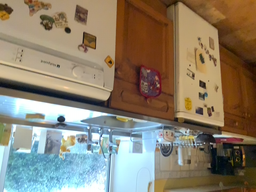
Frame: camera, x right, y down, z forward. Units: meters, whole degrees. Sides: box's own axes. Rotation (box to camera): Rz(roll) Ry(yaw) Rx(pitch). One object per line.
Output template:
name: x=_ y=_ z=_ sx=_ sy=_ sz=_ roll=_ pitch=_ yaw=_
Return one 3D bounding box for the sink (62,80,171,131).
sink: x=-0.070 y=0.100 z=1.410 sx=0.570 sy=0.180 sz=0.430 roll=14 pitch=160 yaw=-38
